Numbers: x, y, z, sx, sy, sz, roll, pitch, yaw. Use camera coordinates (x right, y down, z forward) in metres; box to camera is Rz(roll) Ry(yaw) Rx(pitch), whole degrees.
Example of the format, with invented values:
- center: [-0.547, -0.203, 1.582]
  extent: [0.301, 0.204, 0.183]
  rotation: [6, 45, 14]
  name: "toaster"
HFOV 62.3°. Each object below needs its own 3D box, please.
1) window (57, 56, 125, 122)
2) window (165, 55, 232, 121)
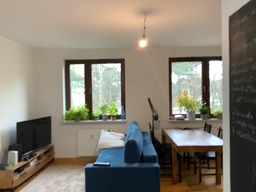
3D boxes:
- center: [-0.870, -0.170, 5.100]
  extent: [1.570, 1.530, 0.230]
  rotation: [-1, 1, 0]
  name: "window"
- center: [1.630, -0.180, 5.030]
  extent: [1.420, 1.480, 0.510]
  rotation: [-1, 1, 4]
  name: "window"
